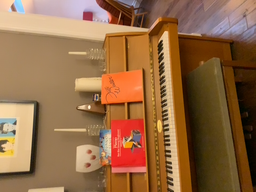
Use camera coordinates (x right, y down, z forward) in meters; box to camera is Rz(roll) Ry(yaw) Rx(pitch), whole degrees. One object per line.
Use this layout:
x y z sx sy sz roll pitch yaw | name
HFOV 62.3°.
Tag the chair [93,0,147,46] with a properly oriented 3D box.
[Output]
-0.210 -1.530 4.260 0.690 0.880 0.750 -111 28 -53 | chair
